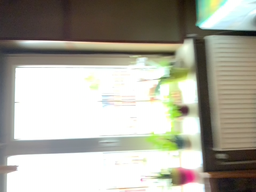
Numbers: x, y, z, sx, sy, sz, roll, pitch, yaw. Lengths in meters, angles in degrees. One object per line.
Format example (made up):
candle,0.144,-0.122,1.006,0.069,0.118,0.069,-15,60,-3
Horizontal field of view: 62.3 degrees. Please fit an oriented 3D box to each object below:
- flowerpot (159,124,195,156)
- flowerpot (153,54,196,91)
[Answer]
flowerpot,0.370,0.330,1.640,0.200,0.210,0.220,140,129,-82
flowerpot,0.360,-0.180,1.720,0.330,0.240,0.230,134,135,-81
